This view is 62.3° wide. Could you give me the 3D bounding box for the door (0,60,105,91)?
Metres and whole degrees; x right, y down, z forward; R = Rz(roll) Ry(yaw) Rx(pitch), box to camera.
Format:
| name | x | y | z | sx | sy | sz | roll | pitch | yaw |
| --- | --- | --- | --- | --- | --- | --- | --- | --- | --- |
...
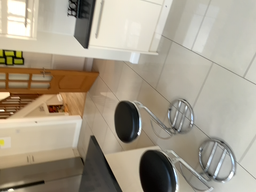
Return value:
| name | x | y | z | sx | sy | sz | roll | pitch | yaw |
| --- | --- | --- | --- | --- | --- | --- | --- | --- | --- |
| door | -1.550 | -0.320 | 3.760 | 0.790 | 2.150 | 0.140 | -42 | 56 | 52 |
